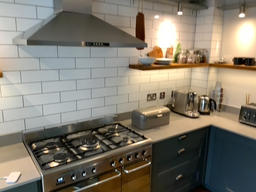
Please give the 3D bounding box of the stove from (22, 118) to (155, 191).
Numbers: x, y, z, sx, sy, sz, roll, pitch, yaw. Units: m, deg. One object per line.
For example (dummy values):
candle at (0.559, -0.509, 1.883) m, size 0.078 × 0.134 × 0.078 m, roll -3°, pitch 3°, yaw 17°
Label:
stove at (-0.330, 0.420, 1.800) m, size 0.930 × 0.140 × 0.620 m, roll -8°, pitch 16°, yaw -35°
